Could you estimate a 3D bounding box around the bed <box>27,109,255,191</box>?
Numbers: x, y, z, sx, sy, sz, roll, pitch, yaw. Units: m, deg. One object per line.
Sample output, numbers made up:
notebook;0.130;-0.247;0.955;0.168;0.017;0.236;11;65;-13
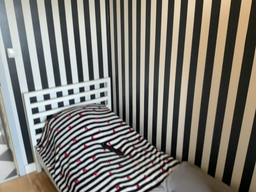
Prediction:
bed;0.000;0.780;1.830;1.010;0.440;2.140;-16;25;-36
